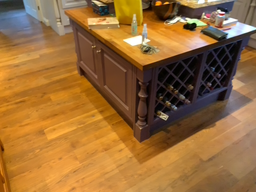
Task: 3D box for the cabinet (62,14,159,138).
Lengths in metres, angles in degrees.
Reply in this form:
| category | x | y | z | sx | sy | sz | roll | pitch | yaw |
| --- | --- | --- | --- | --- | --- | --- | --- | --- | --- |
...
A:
| category | x | y | z | sx | sy | sz | roll | pitch | yaw |
| --- | --- | --- | --- | --- | --- | --- | --- | --- | --- |
| cabinet | -0.260 | -0.290 | 2.190 | 0.260 | 0.720 | 1.340 | -22 | 43 | -27 |
